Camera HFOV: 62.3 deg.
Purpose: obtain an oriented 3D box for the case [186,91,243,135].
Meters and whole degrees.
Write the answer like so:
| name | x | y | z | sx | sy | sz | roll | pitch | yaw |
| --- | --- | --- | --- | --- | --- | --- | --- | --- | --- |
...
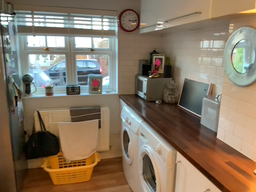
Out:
| name | x | y | z | sx | sy | sz | roll | pitch | yaw |
| --- | --- | --- | --- | --- | --- | --- | --- | --- | --- |
| case | 0.680 | 0.120 | 1.720 | 0.220 | 0.240 | 0.380 | -3 | 13 | -18 |
